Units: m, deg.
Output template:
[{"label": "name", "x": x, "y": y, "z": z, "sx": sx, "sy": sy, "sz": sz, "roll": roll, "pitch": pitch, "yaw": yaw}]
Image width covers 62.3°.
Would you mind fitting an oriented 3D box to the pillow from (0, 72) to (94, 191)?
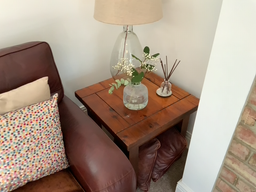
[{"label": "pillow", "x": -0.470, "y": 0.190, "z": 1.020, "sx": 0.430, "sy": 0.370, "sz": 0.380, "roll": -27, "pitch": 44, "yaw": -31}]
